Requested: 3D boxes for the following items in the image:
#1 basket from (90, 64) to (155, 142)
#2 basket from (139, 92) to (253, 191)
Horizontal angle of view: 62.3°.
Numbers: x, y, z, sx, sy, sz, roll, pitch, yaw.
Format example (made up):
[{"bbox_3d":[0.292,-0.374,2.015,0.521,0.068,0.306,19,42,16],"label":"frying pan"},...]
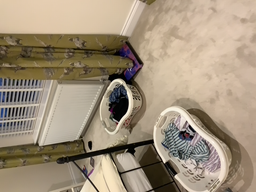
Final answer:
[{"bbox_3d":[-0.110,0.100,2.400,0.760,0.240,0.540,-49,54,42],"label":"basket"},{"bbox_3d":[0.450,0.410,1.640,0.660,0.220,0.580,58,133,35],"label":"basket"}]
